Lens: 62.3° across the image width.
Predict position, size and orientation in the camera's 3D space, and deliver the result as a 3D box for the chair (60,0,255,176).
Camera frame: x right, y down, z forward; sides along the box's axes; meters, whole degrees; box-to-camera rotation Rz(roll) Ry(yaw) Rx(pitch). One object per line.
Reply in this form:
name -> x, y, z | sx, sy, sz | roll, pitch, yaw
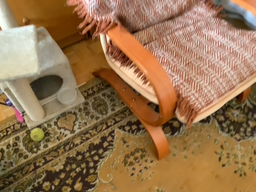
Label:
chair -> 0.190, -0.350, 0.910 | 0.650, 0.960, 0.880 | -31, 60, -19
